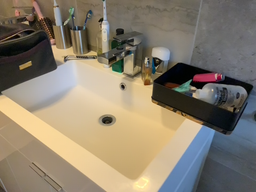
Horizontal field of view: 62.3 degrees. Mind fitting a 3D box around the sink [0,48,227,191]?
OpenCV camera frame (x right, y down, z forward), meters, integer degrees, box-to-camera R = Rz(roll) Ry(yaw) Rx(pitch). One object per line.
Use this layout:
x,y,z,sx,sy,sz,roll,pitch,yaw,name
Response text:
-0.070,0.060,0.670,0.580,0.160,0.450,23,40,29,sink
